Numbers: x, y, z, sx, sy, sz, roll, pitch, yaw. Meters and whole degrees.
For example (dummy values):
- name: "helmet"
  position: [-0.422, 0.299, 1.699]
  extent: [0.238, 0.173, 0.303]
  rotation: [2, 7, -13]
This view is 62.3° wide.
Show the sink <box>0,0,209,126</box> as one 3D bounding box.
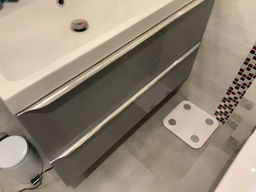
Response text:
- name: "sink"
  position: [-0.090, -0.360, 0.820]
  extent: [0.460, 0.110, 0.990]
  rotation: [38, 60, 25]
